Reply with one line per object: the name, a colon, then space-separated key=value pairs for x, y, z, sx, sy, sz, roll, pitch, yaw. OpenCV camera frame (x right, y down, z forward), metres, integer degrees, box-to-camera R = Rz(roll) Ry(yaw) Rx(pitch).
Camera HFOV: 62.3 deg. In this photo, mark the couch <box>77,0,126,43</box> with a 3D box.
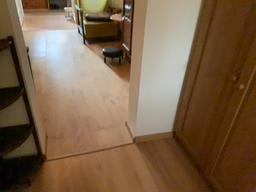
couch: x=-0.570 y=-1.720 z=4.340 sx=0.770 sy=0.920 sz=0.970 roll=-8 pitch=35 yaw=-17
